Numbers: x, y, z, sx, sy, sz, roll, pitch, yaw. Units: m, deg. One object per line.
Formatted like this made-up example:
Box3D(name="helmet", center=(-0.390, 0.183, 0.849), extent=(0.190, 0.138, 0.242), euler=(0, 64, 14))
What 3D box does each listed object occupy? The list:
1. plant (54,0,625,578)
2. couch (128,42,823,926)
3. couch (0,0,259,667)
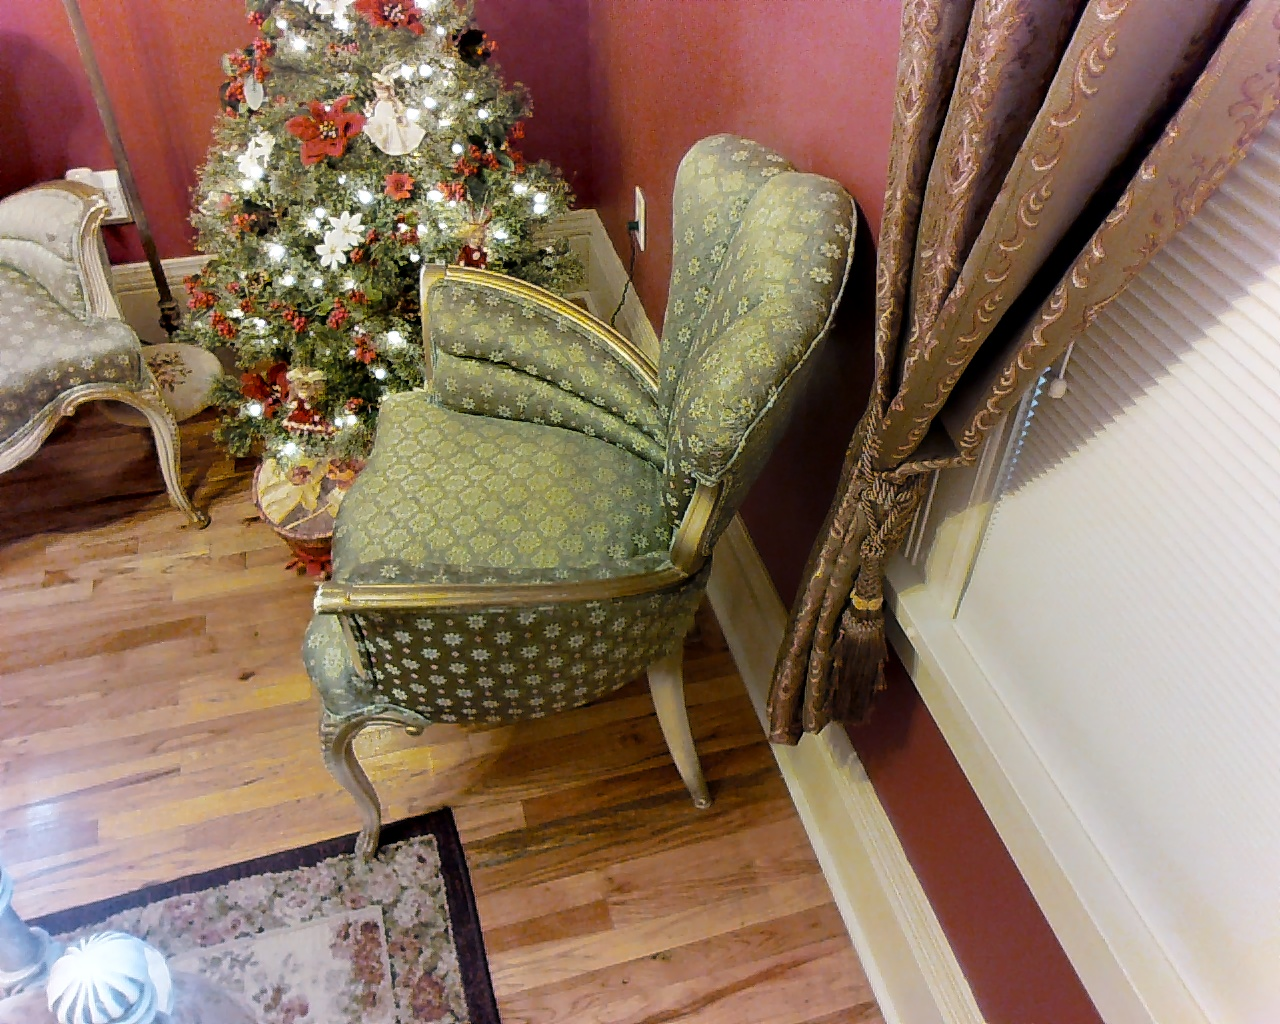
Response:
Box3D(name="plant", center=(-0.430, -0.660, 2.010), extent=(0.680, 1.360, 0.760), euler=(7, 43, 6))
Box3D(name="couch", center=(-0.130, -0.020, 1.580), extent=(0.620, 1.010, 0.770), euler=(3, 43, 2))
Box3D(name="couch", center=(-1.280, -0.370, 1.940), extent=(0.700, 1.060, 0.760), euler=(-24, 48, -24))
